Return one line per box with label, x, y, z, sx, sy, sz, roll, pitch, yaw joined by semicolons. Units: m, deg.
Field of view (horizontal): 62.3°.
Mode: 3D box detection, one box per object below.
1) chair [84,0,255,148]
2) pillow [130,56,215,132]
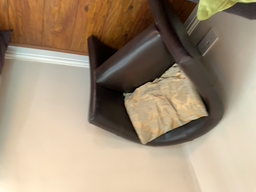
chair;0.150;-0.190;1.230;0.660;0.770;0.600;3;146;-22
pillow;0.240;0.010;1.200;0.430;0.370;0.140;-6;170;24
